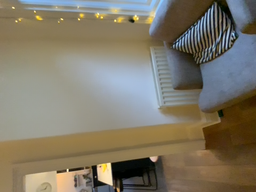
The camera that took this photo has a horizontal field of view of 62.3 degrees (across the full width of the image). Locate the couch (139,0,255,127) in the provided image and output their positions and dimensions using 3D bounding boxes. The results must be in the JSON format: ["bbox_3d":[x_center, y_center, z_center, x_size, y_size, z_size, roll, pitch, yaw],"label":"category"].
[{"bbox_3d":[0.710,-0.390,1.640,0.970,0.840,0.970,125,138,-65],"label":"couch"}]
